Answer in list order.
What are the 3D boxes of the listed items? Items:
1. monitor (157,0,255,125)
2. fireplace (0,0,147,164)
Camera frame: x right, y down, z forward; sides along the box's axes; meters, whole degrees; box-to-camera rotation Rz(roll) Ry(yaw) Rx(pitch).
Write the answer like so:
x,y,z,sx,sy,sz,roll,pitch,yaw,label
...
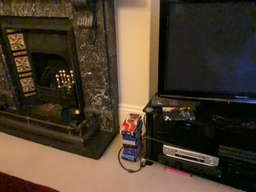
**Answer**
x,y,z,sx,sy,sz,roll,pitch,yaw,label
0.740,-0.170,1.230,1.100,0.750,0.070,5,28,12,monitor
-0.780,-0.310,1.940,1.770,1.270,0.640,10,30,21,fireplace
